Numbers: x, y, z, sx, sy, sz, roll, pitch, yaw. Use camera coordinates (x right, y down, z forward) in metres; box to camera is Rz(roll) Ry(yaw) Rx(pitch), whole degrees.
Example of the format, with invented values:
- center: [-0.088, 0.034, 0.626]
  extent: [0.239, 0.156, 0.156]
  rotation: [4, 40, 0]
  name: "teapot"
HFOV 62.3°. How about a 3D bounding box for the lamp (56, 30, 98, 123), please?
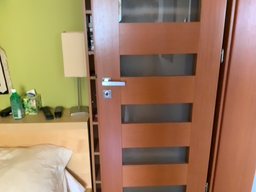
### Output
- center: [-0.340, -0.130, 1.490]
  extent: [0.220, 0.630, 0.160]
  rotation: [0, 17, -2]
  name: "lamp"
